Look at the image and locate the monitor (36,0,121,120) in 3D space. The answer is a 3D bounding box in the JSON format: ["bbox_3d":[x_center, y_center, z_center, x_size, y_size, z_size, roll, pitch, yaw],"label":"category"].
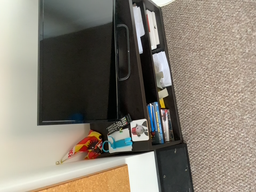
[{"bbox_3d":[-0.200,-0.260,0.960,0.050,0.420,0.720,-8,81,37],"label":"monitor"}]
